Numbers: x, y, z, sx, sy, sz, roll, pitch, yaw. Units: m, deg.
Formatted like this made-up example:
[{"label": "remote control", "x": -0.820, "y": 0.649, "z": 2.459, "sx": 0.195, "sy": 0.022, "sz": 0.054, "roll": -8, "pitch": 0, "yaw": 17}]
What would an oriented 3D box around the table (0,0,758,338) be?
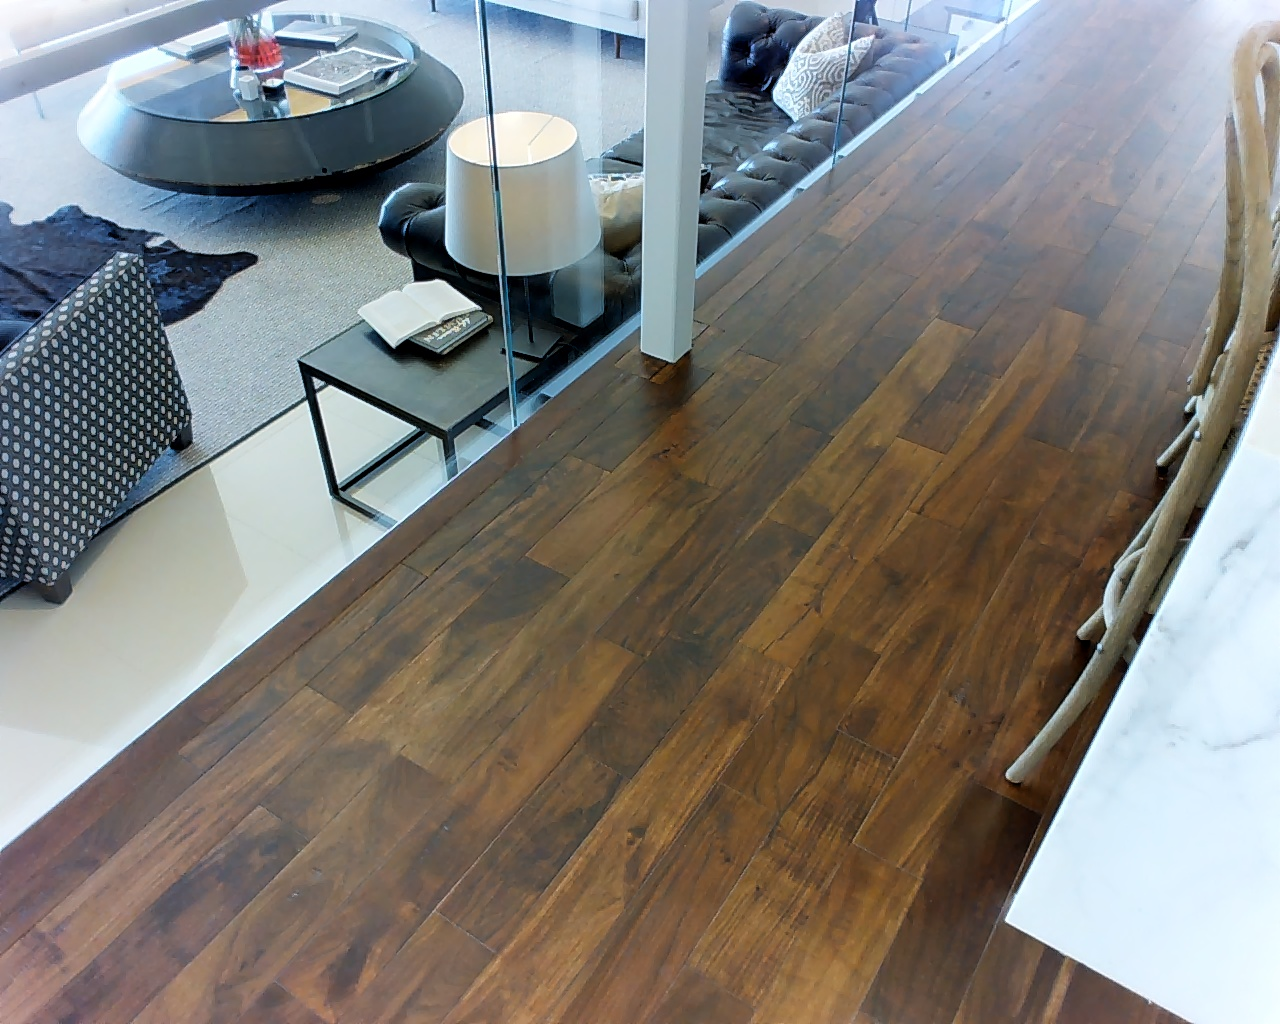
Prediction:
[{"label": "table", "x": -1.230, "y": -2.850, "z": 6.050, "sx": 1.430, "sy": 0.980, "sz": 5.470, "roll": 24, "pitch": 47, "yaw": 24}]
